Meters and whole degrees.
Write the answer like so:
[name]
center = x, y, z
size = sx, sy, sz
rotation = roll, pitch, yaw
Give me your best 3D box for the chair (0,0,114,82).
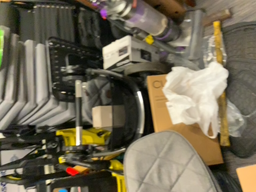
[chair]
center = -0.640, -0.560, 1.900
size = 0.490, 0.810, 0.610
rotation = -28, 65, 38
